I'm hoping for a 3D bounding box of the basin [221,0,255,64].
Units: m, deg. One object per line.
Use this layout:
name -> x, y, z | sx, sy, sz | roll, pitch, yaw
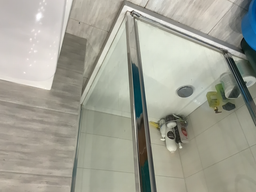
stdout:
basin -> 0.670, -0.300, 1.030 | 0.310, 0.290, 0.170 | 16, 139, -23
